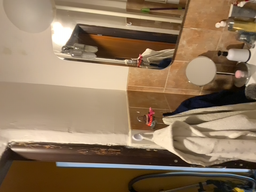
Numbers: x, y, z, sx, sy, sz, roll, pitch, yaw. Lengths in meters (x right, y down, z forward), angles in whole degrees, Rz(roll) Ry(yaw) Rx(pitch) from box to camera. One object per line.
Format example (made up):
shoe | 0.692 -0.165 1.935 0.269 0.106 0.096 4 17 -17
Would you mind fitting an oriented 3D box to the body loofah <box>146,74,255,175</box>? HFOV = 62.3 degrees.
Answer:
body loofah | 0.750 0.160 1.040 0.340 1.260 0.280 -93 10 -51
